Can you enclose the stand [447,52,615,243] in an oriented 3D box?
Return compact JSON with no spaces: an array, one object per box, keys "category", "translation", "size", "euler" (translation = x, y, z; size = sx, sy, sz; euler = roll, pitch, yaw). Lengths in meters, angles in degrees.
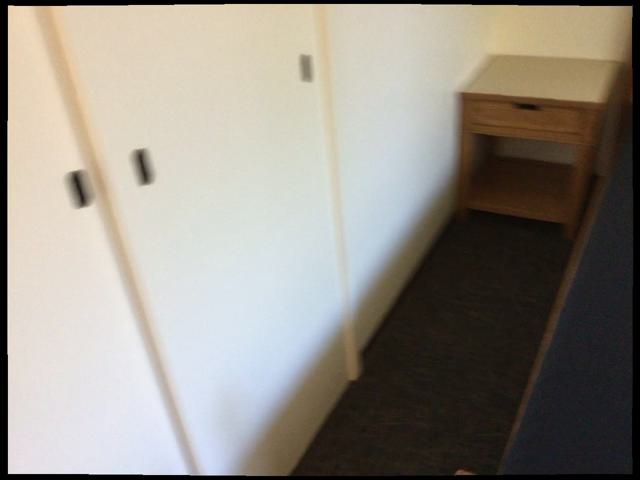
[{"category":"stand","translation":[0.878,-0.411,2.440],"size":[0.519,0.591,0.490],"euler":[13,38,26]}]
